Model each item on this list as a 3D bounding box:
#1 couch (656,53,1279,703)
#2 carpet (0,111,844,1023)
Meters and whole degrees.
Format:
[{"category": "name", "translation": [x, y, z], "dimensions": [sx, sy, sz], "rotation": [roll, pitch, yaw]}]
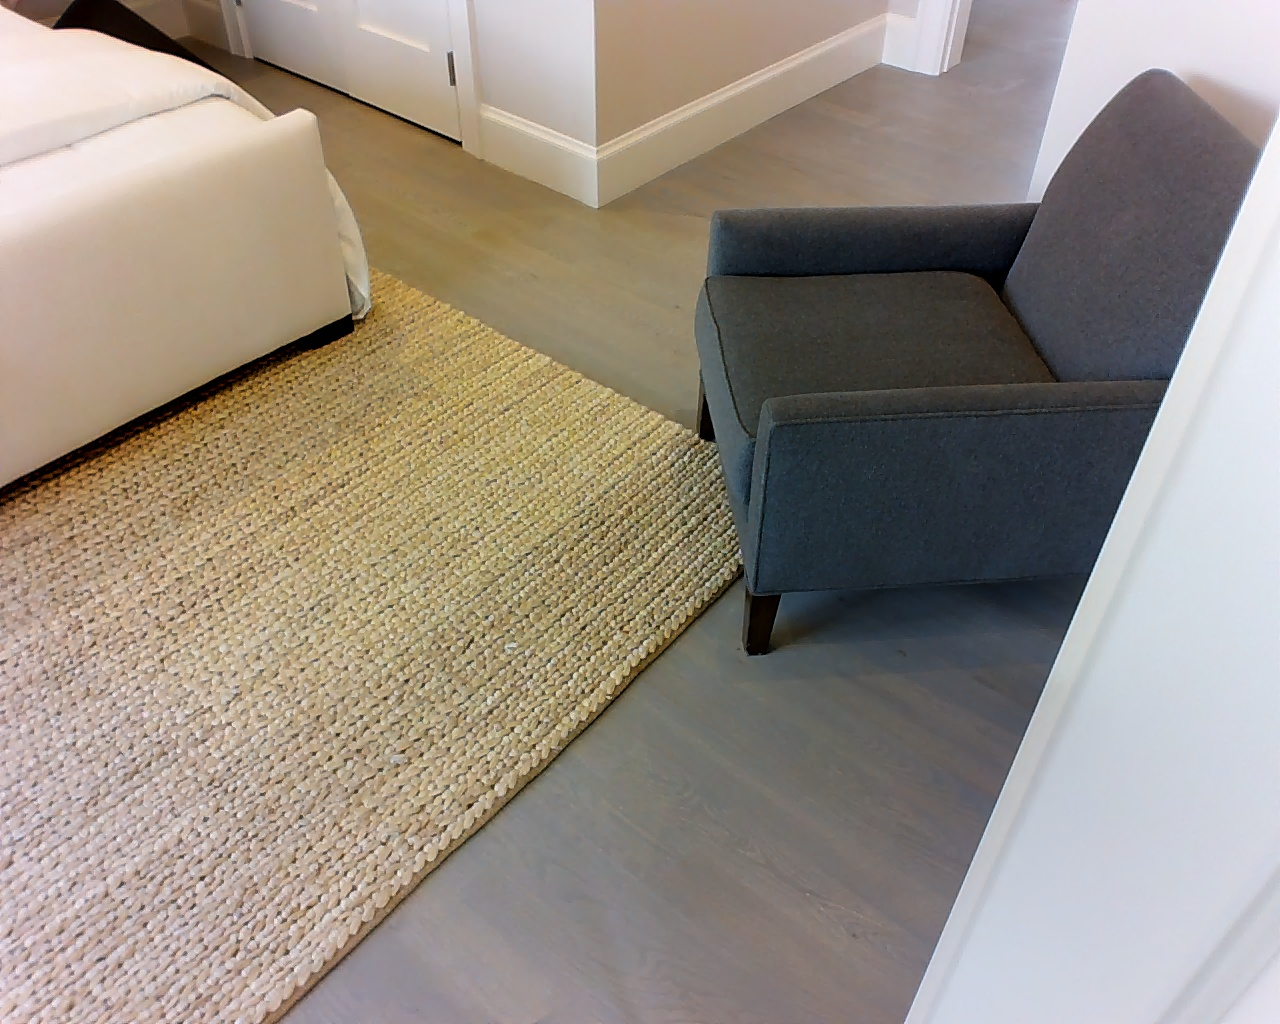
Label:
[{"category": "couch", "translation": [0.560, -0.270, 2.030], "dimensions": [0.970, 0.860, 0.840], "rotation": [-2, 42, -4]}, {"category": "carpet", "translation": [-1.580, -0.110, 2.440], "dimensions": [3.200, 0.030, 2.510], "rotation": [30, 49, 28]}]
